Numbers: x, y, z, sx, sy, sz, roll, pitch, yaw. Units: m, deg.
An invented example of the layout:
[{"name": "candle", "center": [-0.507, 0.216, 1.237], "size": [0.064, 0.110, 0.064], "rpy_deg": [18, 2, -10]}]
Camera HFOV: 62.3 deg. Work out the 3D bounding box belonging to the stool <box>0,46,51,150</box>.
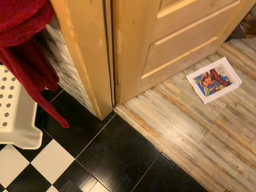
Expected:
[{"name": "stool", "center": [-0.630, 0.020, 1.070], "size": [0.330, 0.260, 0.460], "rpy_deg": [3, 72, -3]}]
